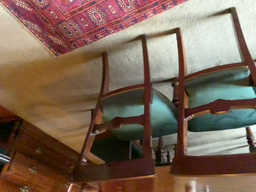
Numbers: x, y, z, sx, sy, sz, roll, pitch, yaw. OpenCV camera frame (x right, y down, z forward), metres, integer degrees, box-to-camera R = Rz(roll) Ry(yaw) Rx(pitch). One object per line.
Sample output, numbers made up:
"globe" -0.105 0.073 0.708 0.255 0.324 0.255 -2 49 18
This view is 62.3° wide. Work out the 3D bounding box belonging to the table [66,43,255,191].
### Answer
"table" 0.730 0.630 2.040 1.550 0.730 1.960 -14 139 23
